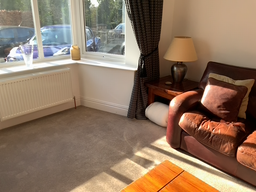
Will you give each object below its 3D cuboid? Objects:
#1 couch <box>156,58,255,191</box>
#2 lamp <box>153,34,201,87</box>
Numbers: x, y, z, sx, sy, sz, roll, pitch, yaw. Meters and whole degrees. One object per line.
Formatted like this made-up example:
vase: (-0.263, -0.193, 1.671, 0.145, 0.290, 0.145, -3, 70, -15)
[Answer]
couch: (1.480, 0.330, 1.910, 1.050, 0.850, 2.220, -19, 29, -40)
lamp: (0.670, -0.510, 2.910, 0.490, 0.600, 0.380, -20, 29, -41)
